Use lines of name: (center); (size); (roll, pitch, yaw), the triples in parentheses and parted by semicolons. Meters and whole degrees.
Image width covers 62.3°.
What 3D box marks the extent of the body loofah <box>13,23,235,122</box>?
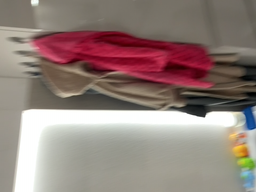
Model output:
body loofah: (-0.030, -0.050, 1.060); (0.510, 0.850, 0.230); (123, 146, -63)
